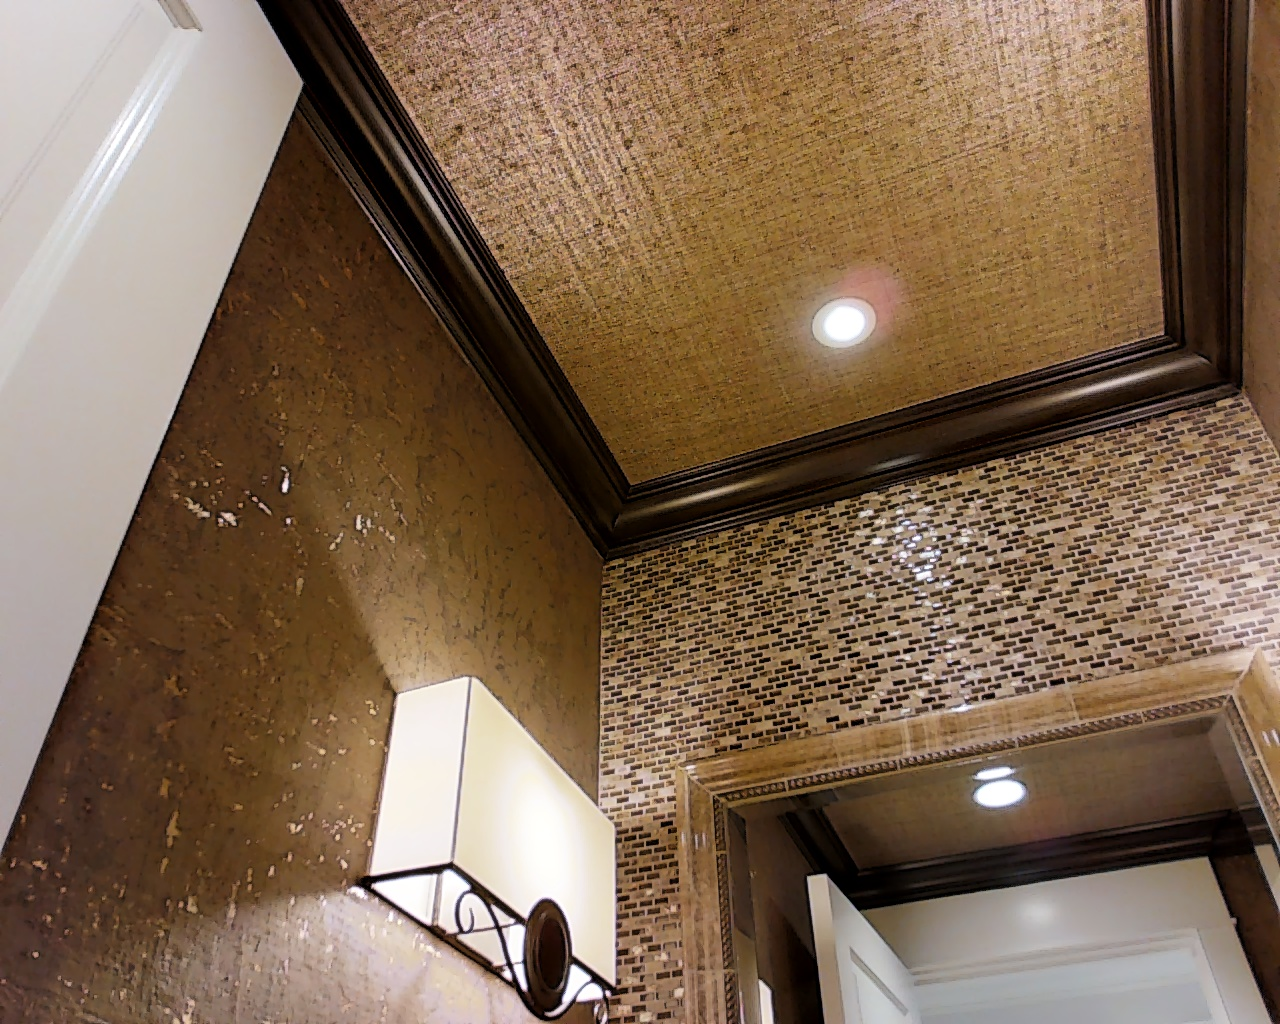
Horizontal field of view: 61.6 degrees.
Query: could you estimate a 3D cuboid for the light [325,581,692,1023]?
[{"bbox_3d":[-0.100,0.380,1.160,0.140,0.380,0.490,-16,-44,17],"label":"light"}]
